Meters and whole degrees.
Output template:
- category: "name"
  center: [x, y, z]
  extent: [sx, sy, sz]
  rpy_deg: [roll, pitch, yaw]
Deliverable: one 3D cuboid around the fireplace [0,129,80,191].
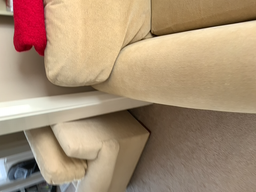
- category: "fireplace"
  center: [-1.430, 0.990, 2.830]
  extent: [1.250, 1.230, 0.240]
  rpy_deg: [-52, 59, 42]
